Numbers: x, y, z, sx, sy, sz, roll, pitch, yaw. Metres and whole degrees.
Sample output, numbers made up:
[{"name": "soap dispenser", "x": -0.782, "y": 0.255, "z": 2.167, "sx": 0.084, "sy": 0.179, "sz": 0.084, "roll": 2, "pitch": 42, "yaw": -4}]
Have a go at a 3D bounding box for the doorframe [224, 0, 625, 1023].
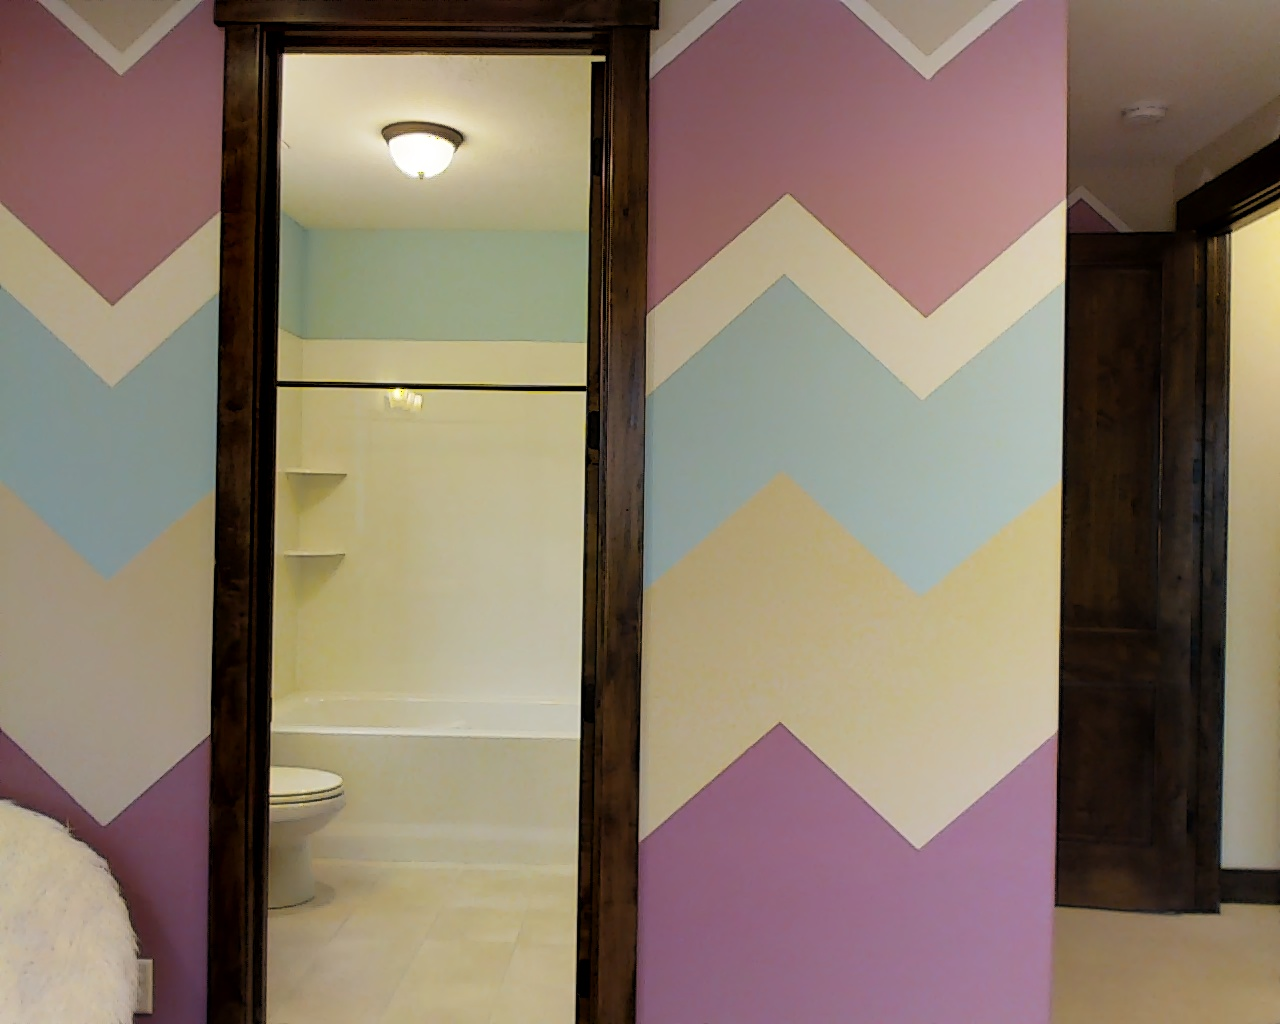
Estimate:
[{"name": "doorframe", "x": -0.470, "y": 0.070, "z": 2.440, "sx": 0.850, "sy": 2.630, "sz": 0.230, "roll": 0, "pitch": -1, "yaw": 1}]
